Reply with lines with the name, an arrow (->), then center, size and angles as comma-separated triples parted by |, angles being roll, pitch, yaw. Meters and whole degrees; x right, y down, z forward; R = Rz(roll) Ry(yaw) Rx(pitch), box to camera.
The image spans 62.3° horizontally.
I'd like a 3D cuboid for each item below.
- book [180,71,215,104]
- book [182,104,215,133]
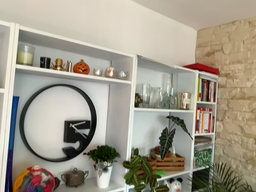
book -> 0.750, -0.080, 2.260 | 0.370, 0.300, 0.170 | 5, -2, -40
book -> 0.760, 0.240, 2.270 | 0.350, 0.280, 0.170 | 5, -2, -40
